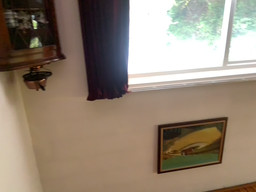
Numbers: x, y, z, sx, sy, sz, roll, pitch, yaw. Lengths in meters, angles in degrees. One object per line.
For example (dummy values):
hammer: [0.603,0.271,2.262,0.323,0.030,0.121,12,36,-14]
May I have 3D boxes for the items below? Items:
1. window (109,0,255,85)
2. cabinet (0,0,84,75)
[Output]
window: [0.930,-0.830,2.300,2.250,1.280,0.090,-5,-158,-10]
cabinet: [-0.810,-0.750,1.580,0.430,1.000,0.760,14,-154,34]
